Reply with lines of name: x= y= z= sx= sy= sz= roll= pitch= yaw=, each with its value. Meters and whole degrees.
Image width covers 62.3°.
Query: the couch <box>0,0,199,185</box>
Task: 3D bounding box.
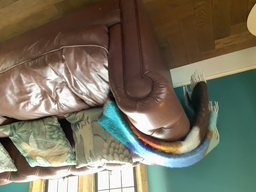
couch: x=-0.770 y=0.140 z=1.510 sx=2.260 sy=0.740 sz=1.030 roll=-13 pitch=152 yaw=16
